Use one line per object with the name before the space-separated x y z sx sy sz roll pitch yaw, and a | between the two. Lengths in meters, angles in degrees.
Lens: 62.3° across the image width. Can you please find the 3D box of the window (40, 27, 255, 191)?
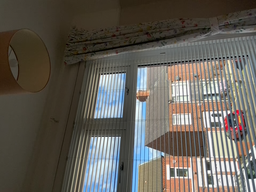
window | 0.230 0.250 1.780 0.270 1.750 1.630 62 -152 -60

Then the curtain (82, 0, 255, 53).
curtain | 0.670 -0.760 1.970 0.230 2.190 0.440 65 -155 -57

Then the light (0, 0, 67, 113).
light | -0.680 -0.200 1.230 0.340 0.430 0.440 44 -138 -48
